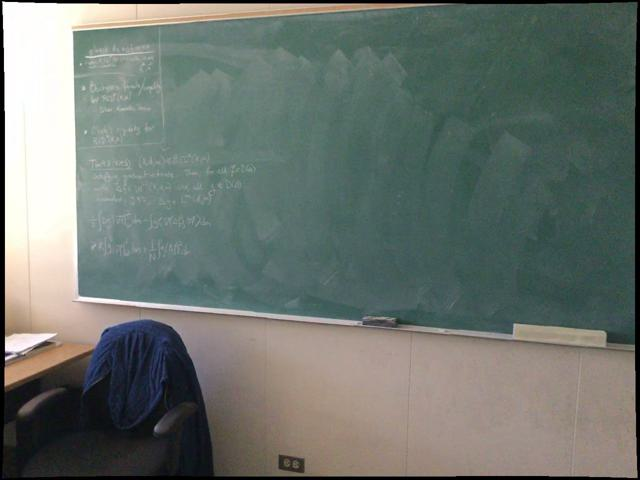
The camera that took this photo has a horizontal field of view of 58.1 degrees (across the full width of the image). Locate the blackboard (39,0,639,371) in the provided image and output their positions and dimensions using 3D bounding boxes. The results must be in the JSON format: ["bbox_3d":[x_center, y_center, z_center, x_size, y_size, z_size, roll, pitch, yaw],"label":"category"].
[{"bbox_3d":[0.040,-0.241,2.240,2.534,1.293,0.170,1,8,18],"label":"blackboard"}]

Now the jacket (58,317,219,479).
[{"bbox_3d":[-0.738,0.762,2.400,0.539,0.802,0.270,1,8,18],"label":"jacket"}]

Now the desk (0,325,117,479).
[{"bbox_3d":[-1.546,0.882,2.420,0.838,0.772,0.980,1,8,18],"label":"desk"}]
